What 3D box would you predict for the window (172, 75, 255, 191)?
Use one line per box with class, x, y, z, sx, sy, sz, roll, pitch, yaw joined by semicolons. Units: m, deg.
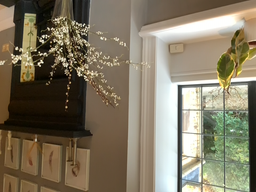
window;0.970;0.410;1.660;1.250;1.140;0.130;-1;175;33
